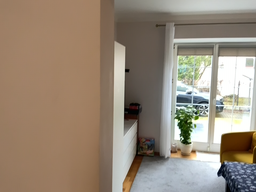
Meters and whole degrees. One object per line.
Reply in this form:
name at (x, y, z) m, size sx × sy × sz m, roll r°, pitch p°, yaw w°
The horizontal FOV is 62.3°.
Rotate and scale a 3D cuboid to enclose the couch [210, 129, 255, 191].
couch at (1.890, 1.000, 3.390) m, size 0.750 × 0.720 × 0.720 m, roll 0°, pitch 7°, yaw -14°
